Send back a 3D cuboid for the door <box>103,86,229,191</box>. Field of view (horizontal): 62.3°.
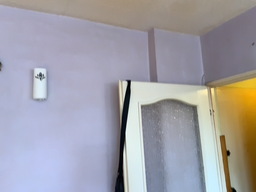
[{"bbox_3d":[0.340,0.900,1.470,0.980,1.910,0.110,1,-10,-27],"label":"door"}]
